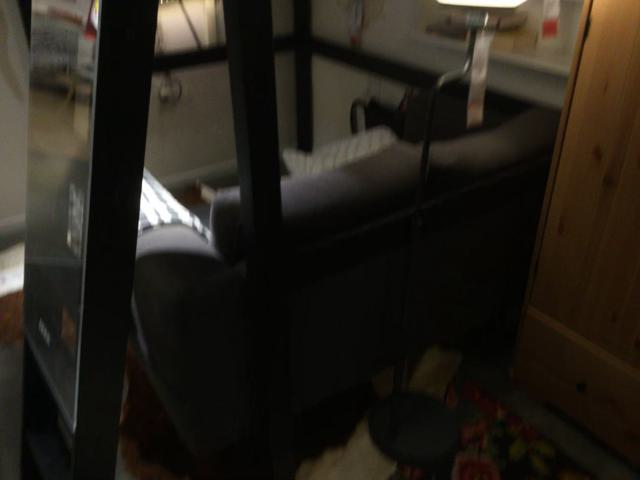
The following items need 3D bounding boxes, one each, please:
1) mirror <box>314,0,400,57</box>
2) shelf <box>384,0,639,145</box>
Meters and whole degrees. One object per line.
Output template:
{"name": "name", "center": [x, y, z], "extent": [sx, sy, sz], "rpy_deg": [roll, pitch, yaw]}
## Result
{"name": "mirror", "center": [0.160, -1.340, 2.700], "extent": [0.080, 0.840, 0.580], "rpy_deg": [-20, 35, -28]}
{"name": "shelf", "center": [0.640, -0.910, 1.980], "extent": [0.250, 0.880, 0.980], "rpy_deg": [-20, 35, -28]}
